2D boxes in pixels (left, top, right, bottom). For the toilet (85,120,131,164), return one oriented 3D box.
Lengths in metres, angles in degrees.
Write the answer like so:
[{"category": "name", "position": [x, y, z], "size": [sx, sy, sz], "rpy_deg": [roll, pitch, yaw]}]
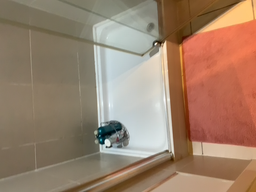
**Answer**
[{"category": "toilet", "position": [-0.170, 0.370, 1.760], "size": [0.230, 0.220, 0.230], "rpy_deg": [39, 114, 32]}]
